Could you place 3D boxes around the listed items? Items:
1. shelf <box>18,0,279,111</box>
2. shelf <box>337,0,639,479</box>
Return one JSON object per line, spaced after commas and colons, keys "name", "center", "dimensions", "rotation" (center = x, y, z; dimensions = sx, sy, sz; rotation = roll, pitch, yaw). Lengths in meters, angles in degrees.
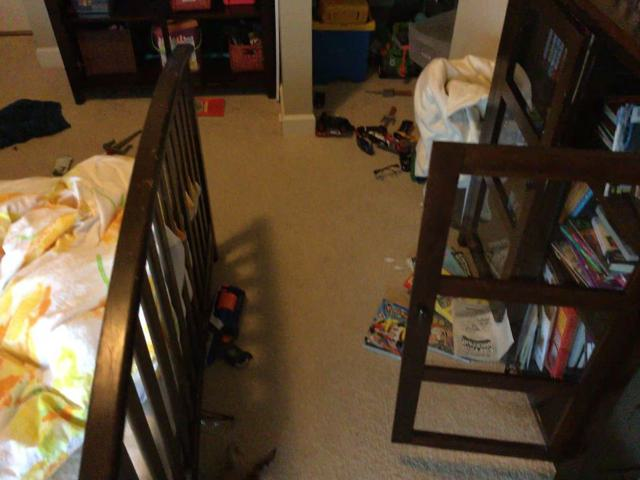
{"name": "shelf", "center": [-0.720, -1.220, 2.510], "dimensions": [1.040, 1.170, 0.510], "rotation": [-2, 41, -6]}
{"name": "shelf", "center": [0.560, -0.130, 1.420], "dimensions": [0.850, 1.130, 1.090], "rotation": [-2, 41, -6]}
